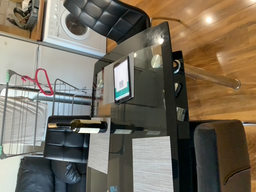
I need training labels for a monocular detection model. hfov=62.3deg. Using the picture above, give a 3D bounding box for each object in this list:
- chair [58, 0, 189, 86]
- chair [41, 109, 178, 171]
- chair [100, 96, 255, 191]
[{"bbox_3d":[-0.020,-0.480,1.740,0.420,0.960,0.550,-26,62,49],"label":"chair"},{"bbox_3d":[-0.110,0.340,1.690,0.460,0.970,0.350,-13,73,52],"label":"chair"},{"bbox_3d":[0.420,0.300,0.970,0.520,0.950,0.410,-15,71,52],"label":"chair"}]
